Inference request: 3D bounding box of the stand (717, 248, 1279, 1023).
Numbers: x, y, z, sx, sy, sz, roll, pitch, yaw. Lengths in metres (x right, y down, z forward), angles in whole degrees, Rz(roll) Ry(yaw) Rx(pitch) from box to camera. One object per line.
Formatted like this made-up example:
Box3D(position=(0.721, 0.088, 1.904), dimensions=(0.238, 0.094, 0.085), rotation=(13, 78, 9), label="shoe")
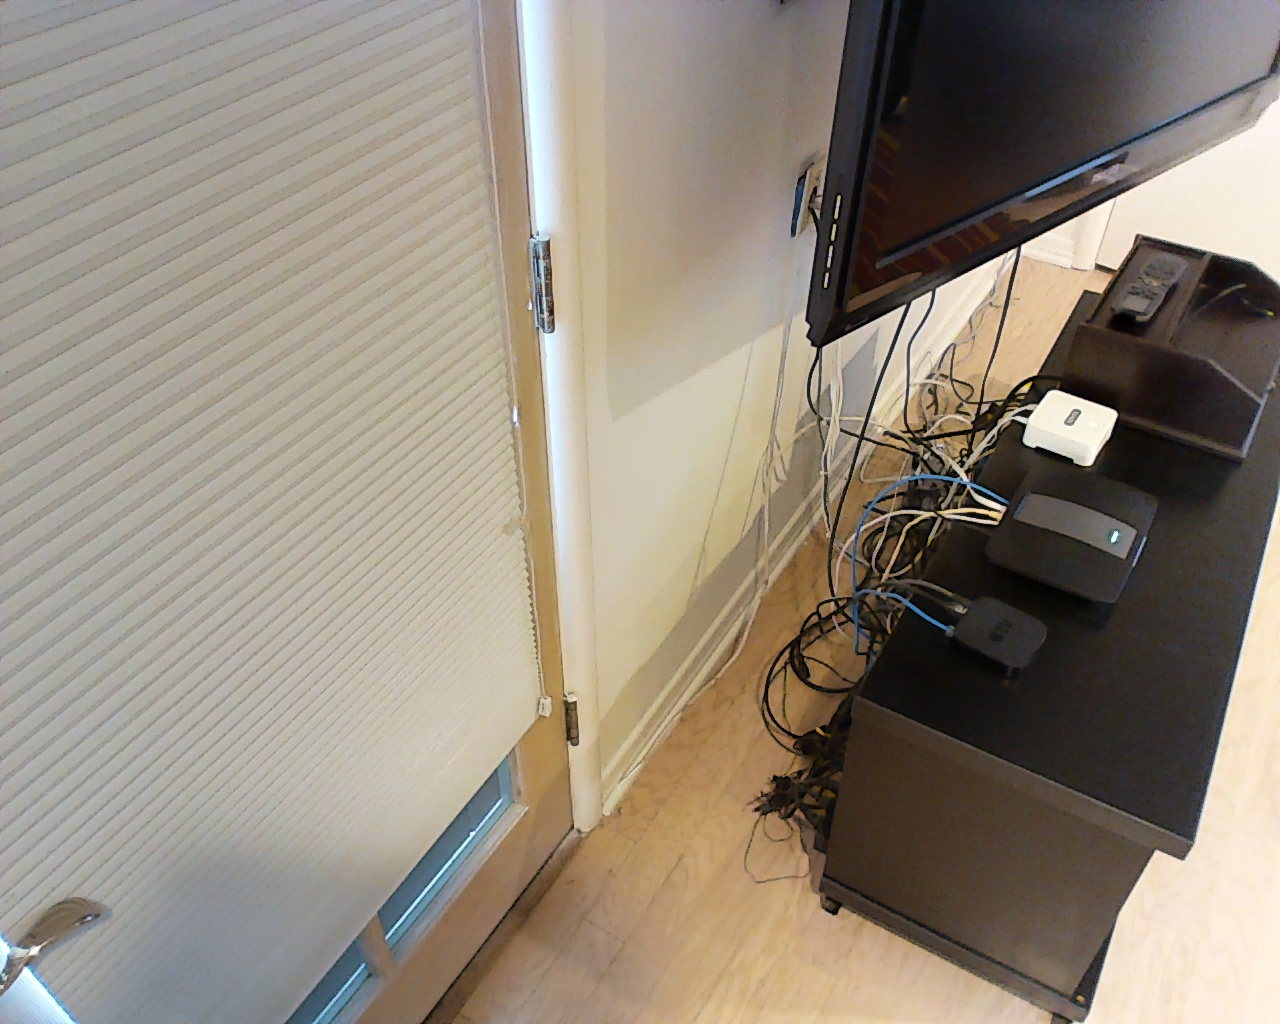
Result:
Box3D(position=(0.720, 0.140, 1.850), dimensions=(0.610, 0.580, 1.210), rotation=(24, 48, 24), label="stand")
